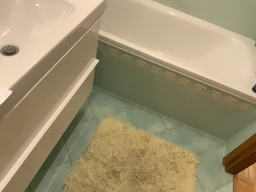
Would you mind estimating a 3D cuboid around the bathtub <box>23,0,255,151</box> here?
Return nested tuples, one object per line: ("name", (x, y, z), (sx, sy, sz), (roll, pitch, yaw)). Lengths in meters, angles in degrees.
("bathtub", (0.140, -0.320, 1.710), (1.650, 0.560, 0.680), (25, 48, 4))

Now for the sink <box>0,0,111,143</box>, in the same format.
("sink", (-0.440, -0.230, 0.740), (0.480, 0.130, 0.810), (23, 48, 3))
